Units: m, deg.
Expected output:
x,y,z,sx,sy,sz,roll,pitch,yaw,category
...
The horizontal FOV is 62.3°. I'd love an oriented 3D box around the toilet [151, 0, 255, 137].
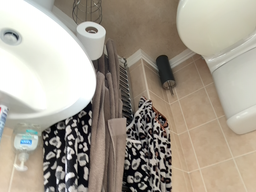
x,y,z,sx,sy,sz,roll,pitch,yaw,category
0.500,-0.320,1.090,0.420,0.800,0.660,-30,138,27,toilet
